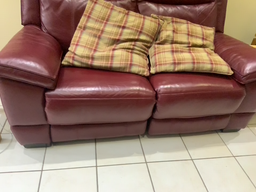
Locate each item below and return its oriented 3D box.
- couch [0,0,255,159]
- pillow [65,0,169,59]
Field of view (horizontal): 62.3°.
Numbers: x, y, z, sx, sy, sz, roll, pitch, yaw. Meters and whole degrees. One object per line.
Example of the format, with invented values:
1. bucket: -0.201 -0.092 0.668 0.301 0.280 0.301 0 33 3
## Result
1. couch: 0.080 -0.360 1.550 1.730 0.990 1.040 -1 36 -13
2. pillow: -0.100 -0.420 1.430 0.550 0.160 0.550 12 2 -12
